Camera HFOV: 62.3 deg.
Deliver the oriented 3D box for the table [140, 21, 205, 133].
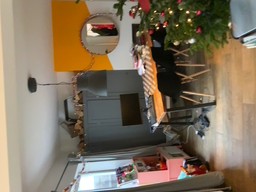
[{"bbox_3d":[0.690,-0.280,3.610,0.790,0.740,1.710,135,132,-79],"label":"table"}]
